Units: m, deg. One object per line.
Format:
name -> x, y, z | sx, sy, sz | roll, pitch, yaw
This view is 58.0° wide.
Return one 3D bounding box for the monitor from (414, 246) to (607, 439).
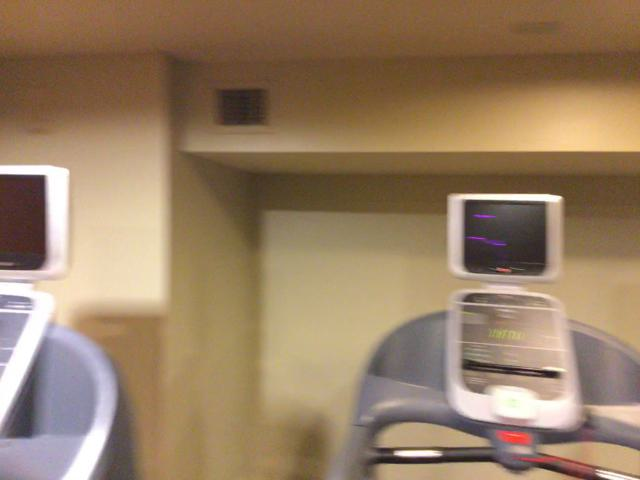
monitor -> 0.540, 0.290, 1.680 | 0.340, 0.420, 0.120 | 35, 15, 14
